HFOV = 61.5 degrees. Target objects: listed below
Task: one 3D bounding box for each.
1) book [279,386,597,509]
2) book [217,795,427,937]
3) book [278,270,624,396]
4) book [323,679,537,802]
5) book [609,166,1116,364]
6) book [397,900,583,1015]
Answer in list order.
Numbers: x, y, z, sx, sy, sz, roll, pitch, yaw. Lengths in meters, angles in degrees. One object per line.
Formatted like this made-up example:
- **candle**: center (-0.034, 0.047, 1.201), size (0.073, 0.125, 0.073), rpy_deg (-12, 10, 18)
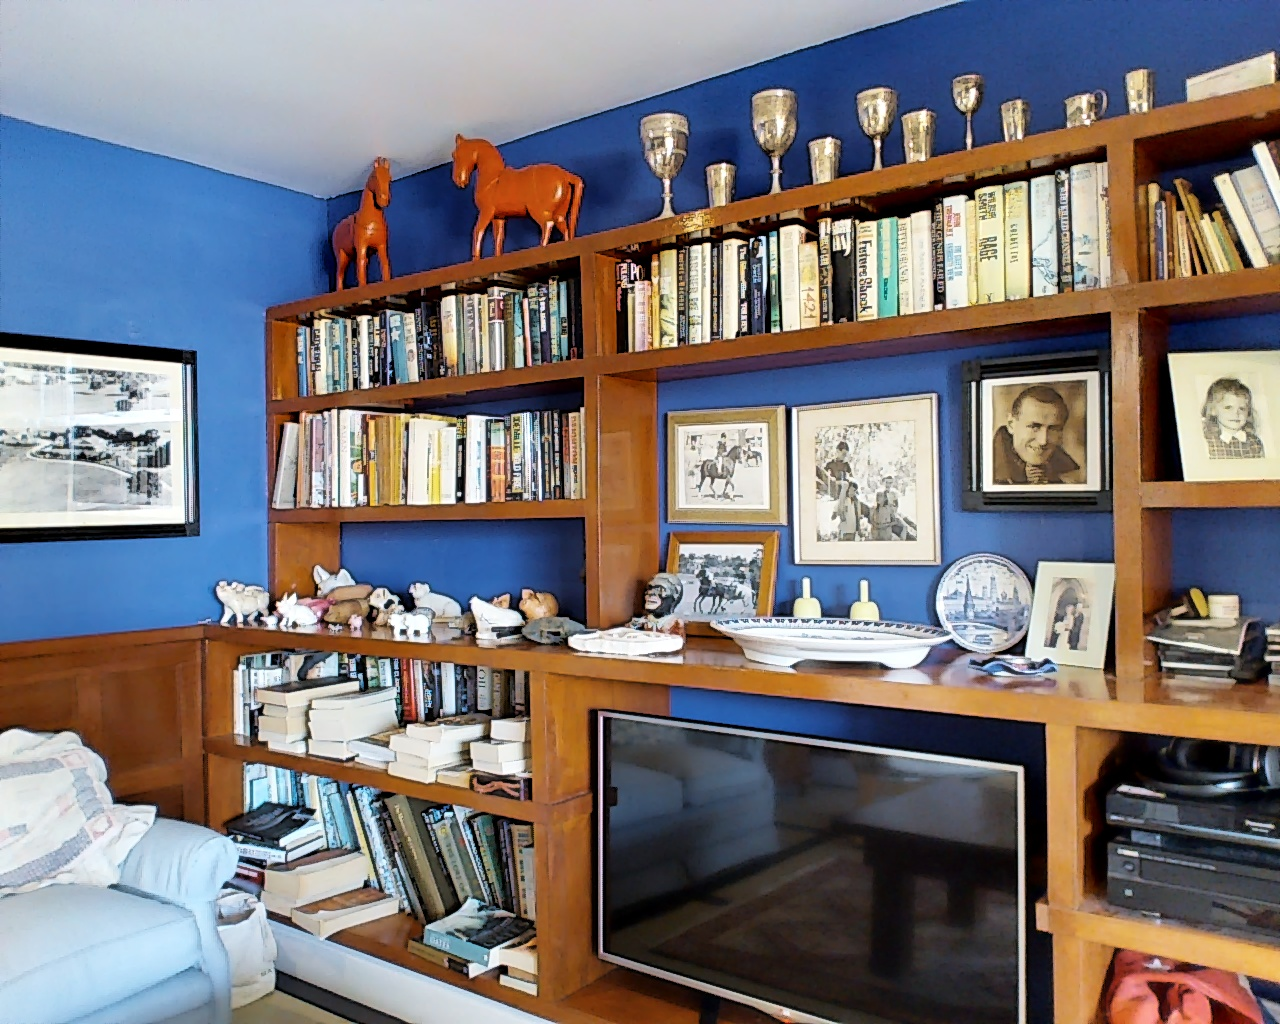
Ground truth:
- **book**: center (-0.620, -0.160, 3.030), size (1.220, 0.280, 0.080), rpy_deg (-1, 0, 37)
- **book**: center (-0.930, 1.000, 3.100), size (0.690, 0.210, 0.230), rpy_deg (-1, 0, 40)
- **book**: center (-0.590, -0.490, 3.090), size (1.230, 0.210, 0.140), rpy_deg (-1, 0, 35)
- **book**: center (-0.550, 0.580, 2.800), size (0.500, 0.210, 0.280), rpy_deg (-1, 0, 37)
- **book**: center (0.420, -0.500, 2.350), size (1.120, 0.220, 0.200), rpy_deg (-1, 0, 40)
- **book**: center (-0.370, 1.070, 2.610), size (0.460, 0.120, 0.160), rpy_deg (-1, 0, 36)
